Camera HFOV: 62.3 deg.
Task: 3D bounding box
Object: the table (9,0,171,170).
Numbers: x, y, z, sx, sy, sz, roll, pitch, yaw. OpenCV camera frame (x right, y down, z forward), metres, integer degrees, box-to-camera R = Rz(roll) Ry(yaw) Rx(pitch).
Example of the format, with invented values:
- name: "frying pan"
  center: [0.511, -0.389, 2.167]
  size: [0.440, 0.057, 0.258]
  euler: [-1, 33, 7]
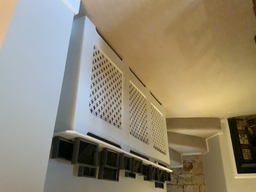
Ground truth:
- name: "table"
  center: [0.010, 0.140, 2.170]
  size: [0.200, 0.920, 2.400]
  euler: [-10, 153, 22]
